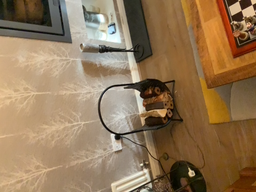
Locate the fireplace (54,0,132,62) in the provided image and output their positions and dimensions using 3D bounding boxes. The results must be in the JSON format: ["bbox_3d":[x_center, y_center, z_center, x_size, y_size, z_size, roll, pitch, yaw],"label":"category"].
[{"bbox_3d":[-0.380,-0.790,2.250,0.500,0.530,0.690,-20,79,48],"label":"fireplace"}]
